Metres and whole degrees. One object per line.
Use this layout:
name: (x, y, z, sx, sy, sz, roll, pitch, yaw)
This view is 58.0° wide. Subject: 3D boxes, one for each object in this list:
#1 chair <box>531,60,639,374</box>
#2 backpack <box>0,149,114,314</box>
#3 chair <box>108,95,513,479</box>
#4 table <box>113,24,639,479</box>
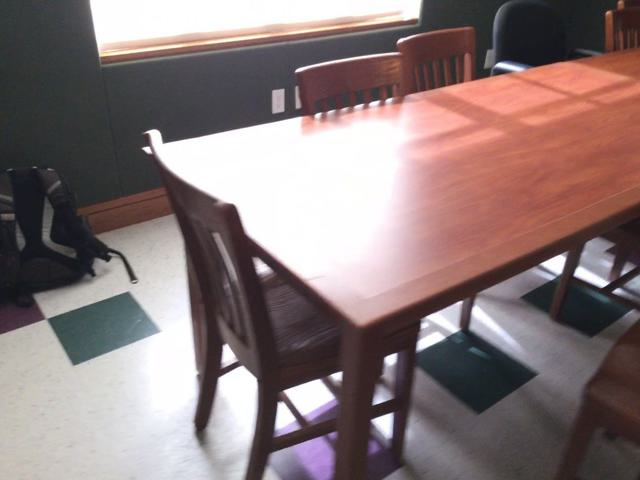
chair: (1.220, -0.080, 1.890, 0.610, 0.880, 0.620, -21, 36, -31)
backpack: (-1.100, -0.050, 2.220, 0.420, 0.420, 0.360, -21, 36, -31)
chair: (-0.040, 0.210, 1.370, 0.560, 0.880, 0.600, -21, 36, -30)
table: (1.240, -0.260, 2.240, 3.640, 0.800, 1.000, -21, 36, -31)
